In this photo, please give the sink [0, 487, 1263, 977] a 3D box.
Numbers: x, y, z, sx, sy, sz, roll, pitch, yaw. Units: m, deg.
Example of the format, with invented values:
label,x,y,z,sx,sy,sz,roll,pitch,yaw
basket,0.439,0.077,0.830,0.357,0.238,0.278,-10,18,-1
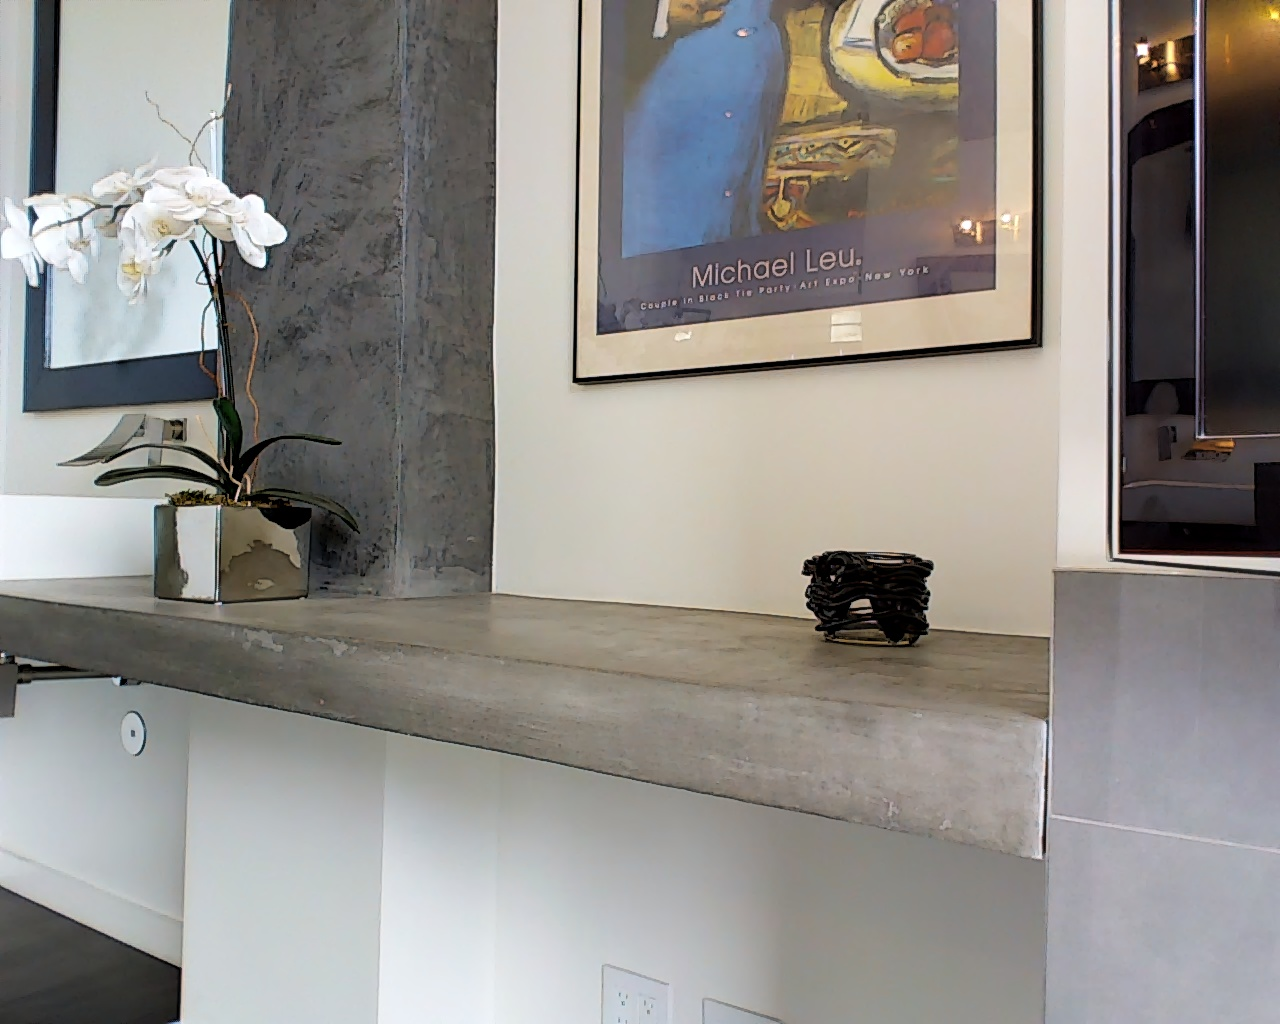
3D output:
label,x,y,z,sx,sy,sz,roll,pitch,yaw
sink,-0.710,0.250,1.800,2.900,0.550,1.020,1,0,1
